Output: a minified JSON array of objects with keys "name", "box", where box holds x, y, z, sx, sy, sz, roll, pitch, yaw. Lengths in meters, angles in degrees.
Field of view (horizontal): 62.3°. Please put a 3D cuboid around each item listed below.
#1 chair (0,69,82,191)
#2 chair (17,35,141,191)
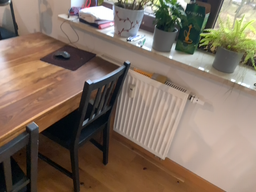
[{"name":"chair","box":[-0.570,0.420,0.940,0.490,0.840,0.480,28,38,23]},{"name":"chair","box":[-0.320,0.120,1.440,0.490,0.840,0.480,28,38,23]}]
